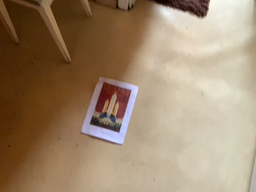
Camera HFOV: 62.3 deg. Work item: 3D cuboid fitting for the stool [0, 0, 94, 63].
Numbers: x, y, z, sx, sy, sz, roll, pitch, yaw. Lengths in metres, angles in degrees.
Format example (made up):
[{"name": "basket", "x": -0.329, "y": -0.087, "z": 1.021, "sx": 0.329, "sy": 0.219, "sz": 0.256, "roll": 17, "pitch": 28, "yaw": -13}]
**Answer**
[{"name": "stool", "x": -0.390, "y": -0.440, "z": 0.910, "sx": 0.350, "sy": 0.480, "sz": 0.330, "roll": 18, "pitch": 74, "yaw": 1}]
